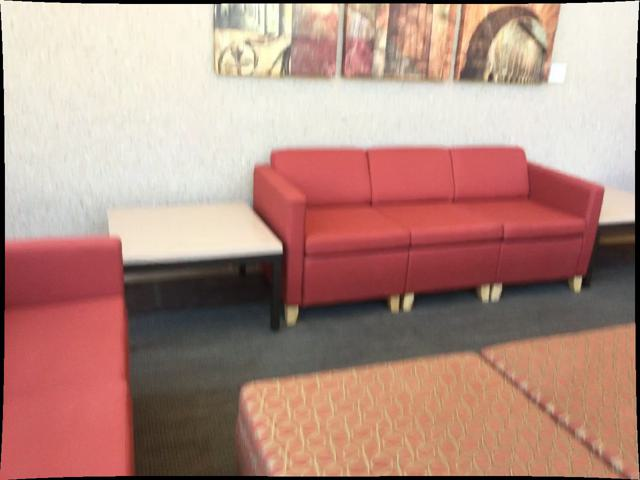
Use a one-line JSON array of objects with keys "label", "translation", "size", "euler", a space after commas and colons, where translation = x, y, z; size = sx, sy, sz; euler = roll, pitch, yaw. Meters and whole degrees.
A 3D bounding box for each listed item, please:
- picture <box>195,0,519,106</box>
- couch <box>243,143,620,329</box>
[{"label": "picture", "translation": [0.270, -1.593, 3.120], "size": [1.847, 1.642, 0.200], "euler": [-3, 20, -18]}, {"label": "couch", "translation": [0.589, -0.110, 3.390], "size": [1.937, 0.761, 0.840], "euler": [-3, 20, -18]}]
